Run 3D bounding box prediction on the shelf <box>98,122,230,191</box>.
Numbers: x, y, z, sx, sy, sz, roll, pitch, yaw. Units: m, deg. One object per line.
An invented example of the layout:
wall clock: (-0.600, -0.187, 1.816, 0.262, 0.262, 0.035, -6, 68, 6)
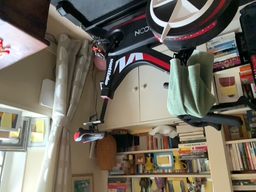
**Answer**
shelf: (0.280, 1.100, 2.080, 1.350, 1.510, 0.170, -13, 157, 30)
